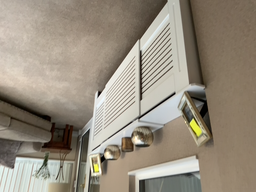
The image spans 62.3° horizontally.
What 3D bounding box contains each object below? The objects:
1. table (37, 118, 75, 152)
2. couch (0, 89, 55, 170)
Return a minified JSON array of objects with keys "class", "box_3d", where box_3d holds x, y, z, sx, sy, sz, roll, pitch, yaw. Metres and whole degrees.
[{"class":"table","box_3d":[-1.370,0.760,4.050,0.560,0.480,0.440,12,153,-22]},{"class":"couch","box_3d":[-2.110,0.480,2.980,1.140,0.850,1.680,-10,153,21]}]
